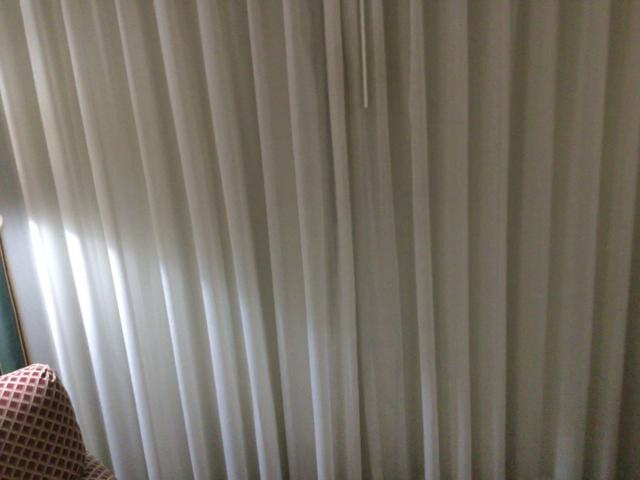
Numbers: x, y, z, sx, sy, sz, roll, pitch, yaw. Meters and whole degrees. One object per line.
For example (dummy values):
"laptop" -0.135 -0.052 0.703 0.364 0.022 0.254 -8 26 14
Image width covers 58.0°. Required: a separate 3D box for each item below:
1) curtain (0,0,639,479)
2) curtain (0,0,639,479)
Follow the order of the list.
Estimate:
"curtain" 0.280 0.000 1.720 2.440 2.030 0.310 -4 16 1
"curtain" 0.220 -0.140 1.590 3.450 2.340 0.350 -4 16 1
